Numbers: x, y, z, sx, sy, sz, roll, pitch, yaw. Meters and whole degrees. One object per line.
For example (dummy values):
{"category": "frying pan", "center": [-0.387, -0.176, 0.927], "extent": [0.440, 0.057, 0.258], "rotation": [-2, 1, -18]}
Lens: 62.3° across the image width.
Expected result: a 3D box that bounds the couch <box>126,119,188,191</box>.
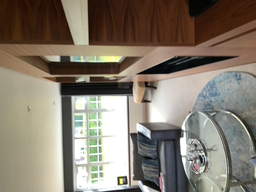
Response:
{"category": "couch", "center": [0.470, 1.150, 3.970], "extent": [1.190, 0.790, 1.270], "rotation": [-176, 85, -79]}
